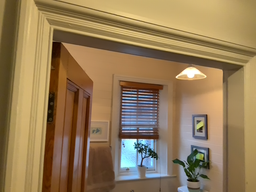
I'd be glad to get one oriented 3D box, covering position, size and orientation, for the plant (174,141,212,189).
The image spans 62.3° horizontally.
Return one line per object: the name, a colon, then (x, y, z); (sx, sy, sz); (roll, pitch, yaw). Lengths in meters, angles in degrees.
plant: (0.810, 0.840, 2.680); (0.220, 0.480, 0.440); (5, -6, -22)
